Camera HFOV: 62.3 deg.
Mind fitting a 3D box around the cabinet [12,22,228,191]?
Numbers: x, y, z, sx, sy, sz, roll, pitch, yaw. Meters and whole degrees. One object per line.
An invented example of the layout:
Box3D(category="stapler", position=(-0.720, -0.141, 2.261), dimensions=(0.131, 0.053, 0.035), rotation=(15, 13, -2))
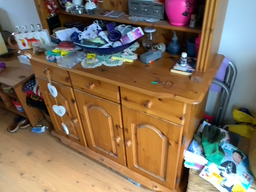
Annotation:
Box3D(category="cabinet", position=(-0.060, 0.060, 1.450), dimensions=(1.110, 0.810, 0.560), rotation=(19, 43, 27))

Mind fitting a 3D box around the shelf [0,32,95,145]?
Box3D(category="shelf", position=(-1.110, -0.180, 2.090), dimensions=(1.440, 0.540, 0.590), rotation=(19, 43, 27))

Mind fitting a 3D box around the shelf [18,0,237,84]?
Box3D(category="shelf", position=(-0.070, -0.690, 0.980), dimensions=(1.110, 0.960, 0.390), rotation=(18, 42, 26))
